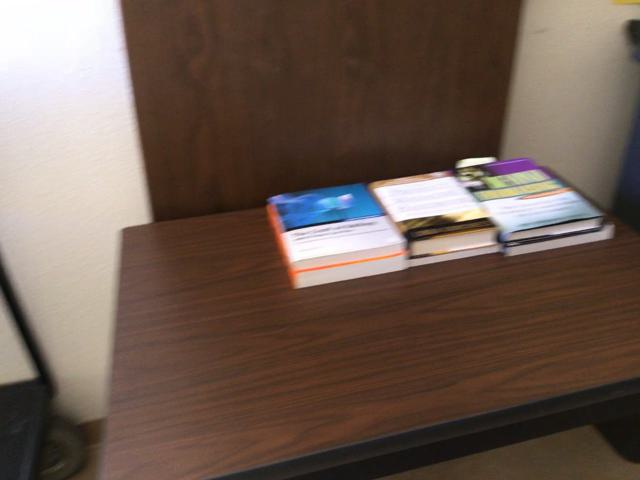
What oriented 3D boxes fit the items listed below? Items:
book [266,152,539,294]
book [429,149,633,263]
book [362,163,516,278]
[{"bbox_3d":[0.130,-0.050,1.080,0.420,0.070,0.310,-9,30,-8],"label":"book"},{"bbox_3d":[0.390,-0.080,1.130,0.250,0.060,0.310,-9,30,-8],"label":"book"},{"bbox_3d":[0.210,-0.050,1.100,0.180,0.060,0.310,-9,30,-8],"label":"book"}]
